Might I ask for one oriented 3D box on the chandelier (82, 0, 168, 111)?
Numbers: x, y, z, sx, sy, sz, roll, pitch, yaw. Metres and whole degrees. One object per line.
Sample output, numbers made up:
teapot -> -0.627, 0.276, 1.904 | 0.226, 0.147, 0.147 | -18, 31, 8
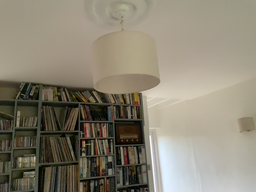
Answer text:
chandelier -> -0.010, -0.250, 1.300 | 0.340, 0.580, 0.430 | -10, -17, 24

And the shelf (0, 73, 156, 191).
shelf -> -0.650, 1.090, 2.710 | 2.090, 2.630, 0.350 | 3, -17, -25
